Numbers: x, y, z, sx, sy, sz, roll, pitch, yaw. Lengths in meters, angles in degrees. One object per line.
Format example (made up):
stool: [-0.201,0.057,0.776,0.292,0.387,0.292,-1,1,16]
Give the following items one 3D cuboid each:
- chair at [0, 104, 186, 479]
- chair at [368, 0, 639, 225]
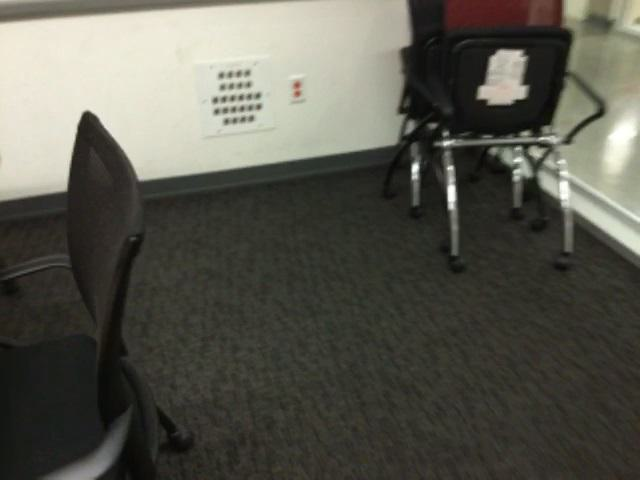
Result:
chair: [-0.560,0.310,1.030,0.550,0.880,0.600,-11,33,-16]
chair: [0.620,-0.640,2.220,0.650,0.760,0.900,-6,32,-8]
